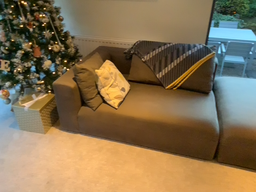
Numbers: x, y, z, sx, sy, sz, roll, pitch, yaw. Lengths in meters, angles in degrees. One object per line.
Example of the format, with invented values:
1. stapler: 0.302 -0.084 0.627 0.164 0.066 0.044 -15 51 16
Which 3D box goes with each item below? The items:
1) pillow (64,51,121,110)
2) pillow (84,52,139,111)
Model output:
1. pillow: -0.350 -0.170 2.180 0.180 0.430 0.520 41 33 -4
2. pillow: -0.150 -0.150 2.100 0.200 0.420 0.460 42 33 -7
